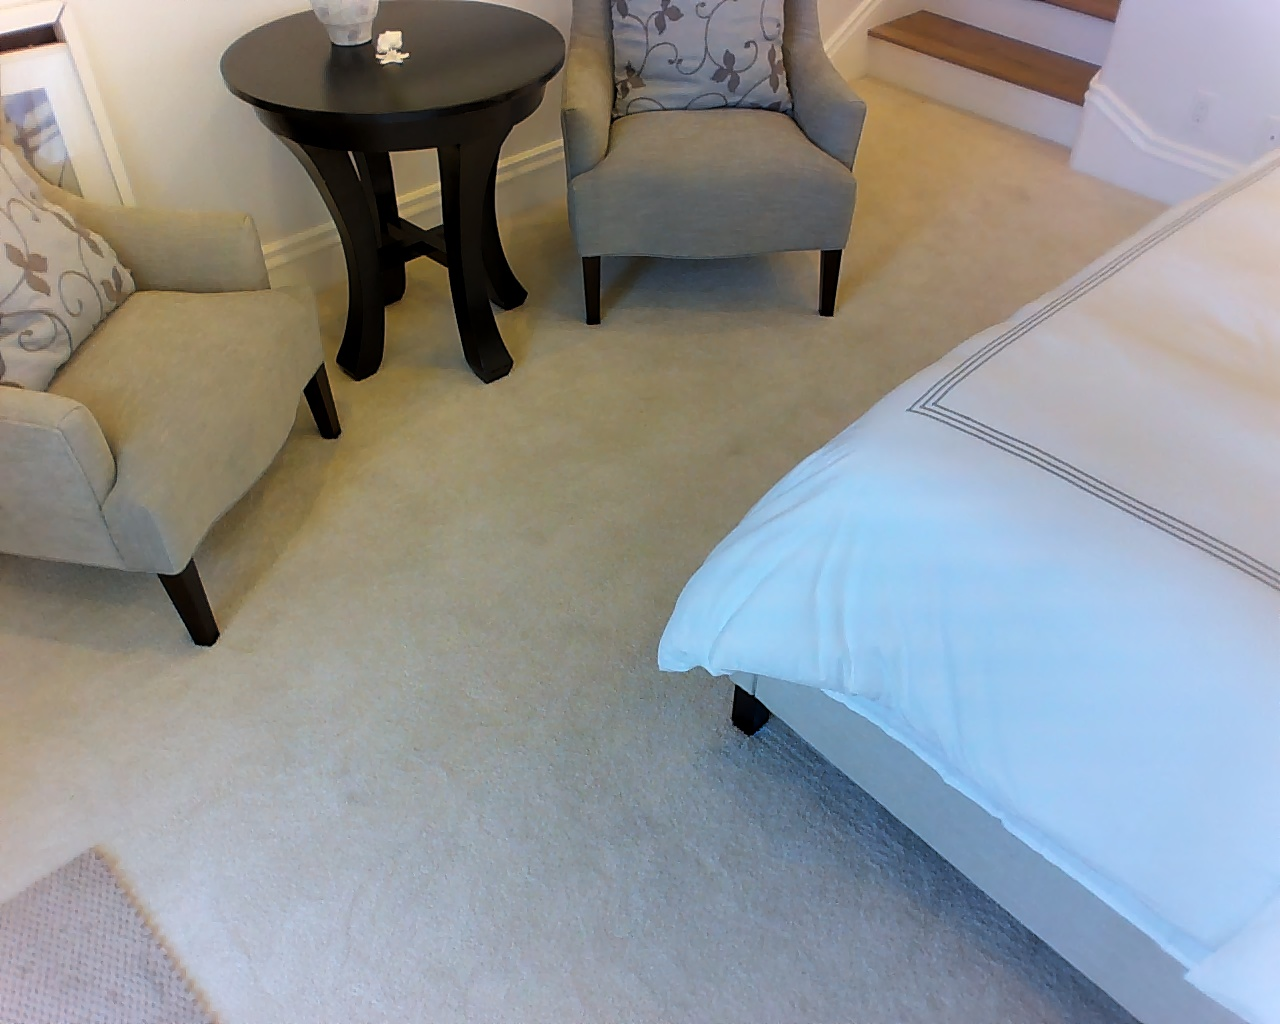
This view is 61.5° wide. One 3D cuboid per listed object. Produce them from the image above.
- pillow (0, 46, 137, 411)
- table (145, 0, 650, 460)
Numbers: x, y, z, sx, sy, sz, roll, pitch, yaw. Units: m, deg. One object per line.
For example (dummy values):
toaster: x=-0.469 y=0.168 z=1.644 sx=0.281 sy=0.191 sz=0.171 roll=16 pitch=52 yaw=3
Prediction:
pillow: x=-1.220 y=-0.540 z=2.000 sx=0.240 sy=0.400 sz=0.550 roll=-12 pitch=67 yaw=23
table: x=-0.550 y=-0.810 z=2.700 sx=0.810 sy=0.810 sz=0.810 roll=-32 pitch=52 yaw=-30
